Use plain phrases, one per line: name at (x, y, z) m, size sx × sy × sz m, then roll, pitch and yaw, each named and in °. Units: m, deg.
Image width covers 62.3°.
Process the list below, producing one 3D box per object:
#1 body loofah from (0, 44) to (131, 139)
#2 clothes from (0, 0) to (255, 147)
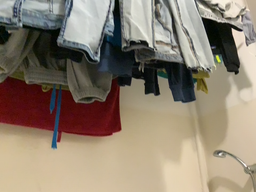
body loofah at (-0.320, 0.000, 1.010) m, size 0.680 × 0.330 × 0.130 m, roll 11°, pitch -24°, yaw -26°
clothes at (-0.020, -0.240, 0.990) m, size 1.520 × 0.750 × 0.690 m, roll 11°, pitch -24°, yaw -26°
